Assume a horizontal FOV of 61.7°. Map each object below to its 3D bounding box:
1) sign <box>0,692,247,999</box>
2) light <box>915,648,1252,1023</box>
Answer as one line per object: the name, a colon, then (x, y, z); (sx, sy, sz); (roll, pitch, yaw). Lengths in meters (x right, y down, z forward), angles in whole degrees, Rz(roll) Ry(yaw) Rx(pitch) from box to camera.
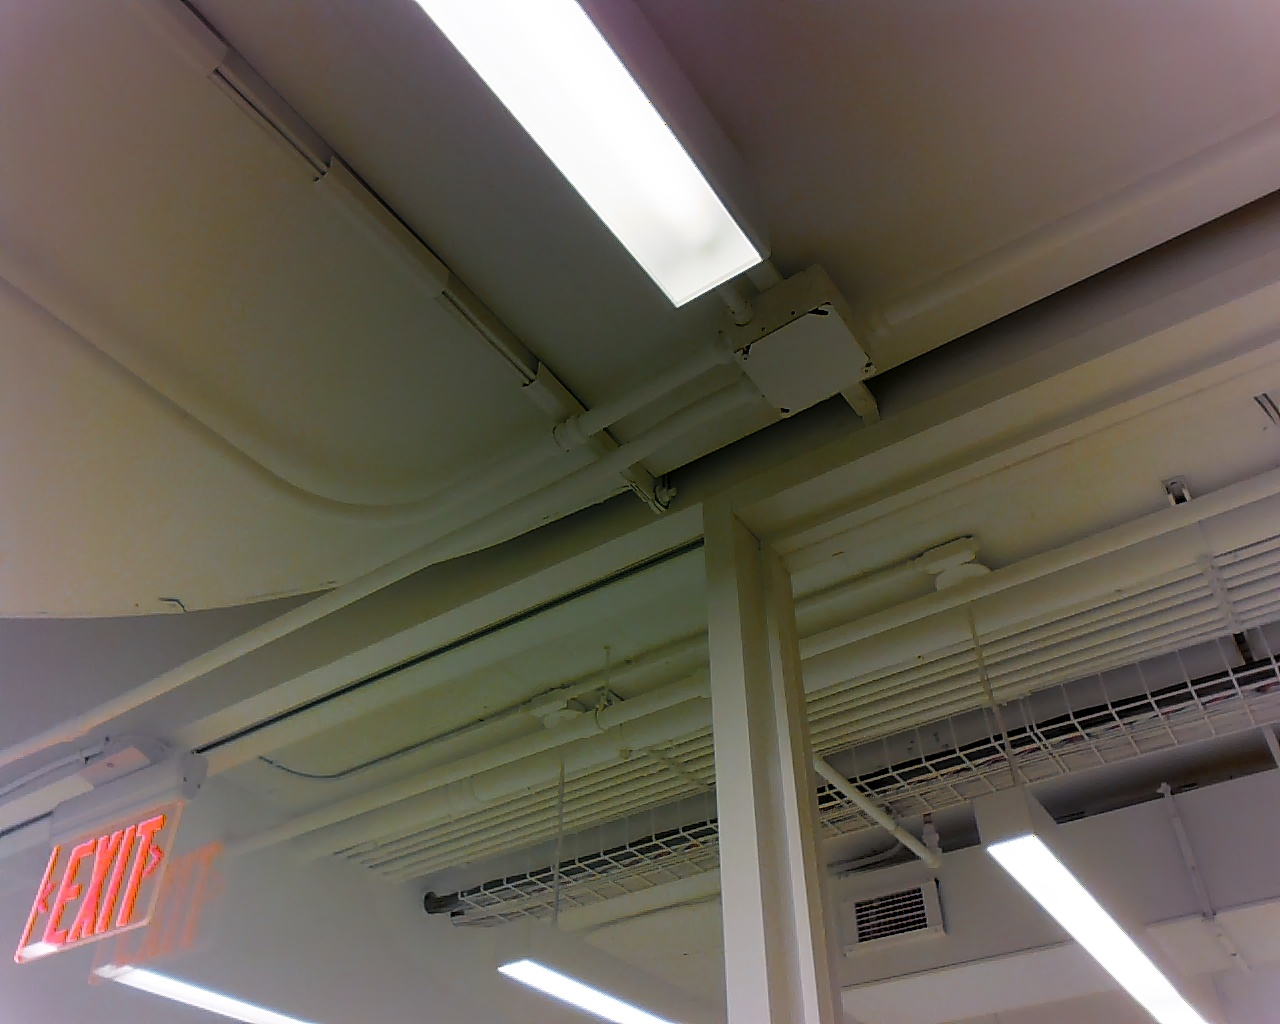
sign: (-0.789, 0.490, 1.570); (0.340, 0.330, 0.150); (-24, -47, 25)
light: (1.309, 1.131, 2.810); (0.180, 0.400, 2.430); (-23, -47, 24)
